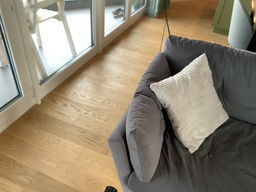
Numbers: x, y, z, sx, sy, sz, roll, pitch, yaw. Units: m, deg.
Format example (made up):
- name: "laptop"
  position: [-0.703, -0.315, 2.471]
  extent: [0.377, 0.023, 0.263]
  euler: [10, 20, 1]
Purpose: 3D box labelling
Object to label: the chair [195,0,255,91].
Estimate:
- name: "chair"
  position: [1.180, -0.620, 2.360]
  extent: [0.540, 0.870, 0.510]
  euler: [19, 40, 15]
